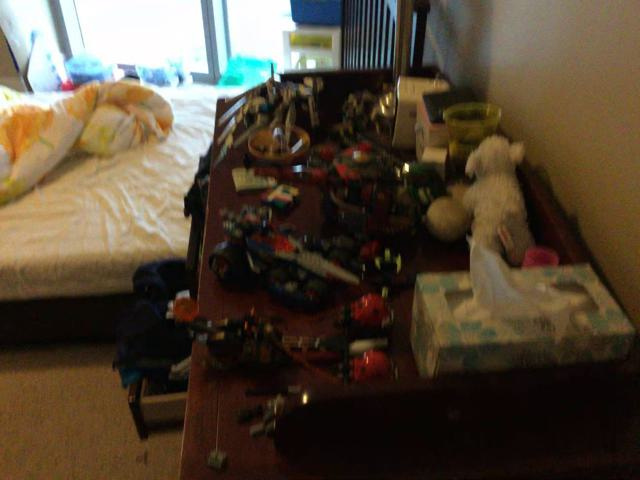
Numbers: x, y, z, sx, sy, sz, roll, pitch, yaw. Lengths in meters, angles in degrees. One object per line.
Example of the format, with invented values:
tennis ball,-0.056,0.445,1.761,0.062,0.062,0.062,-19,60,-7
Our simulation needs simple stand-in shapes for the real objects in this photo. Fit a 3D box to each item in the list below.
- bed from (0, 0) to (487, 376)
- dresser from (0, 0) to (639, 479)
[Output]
bed,-0.750,-0.500,2.090,2.050,1.230,1.440,-2,37,-7
dresser,-0.050,0.220,1.260,0.860,1.110,1.130,-2,37,-7
